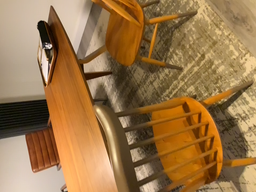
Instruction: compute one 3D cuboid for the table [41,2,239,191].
[{"bbox_3d":[-0.090,0.180,1.690,0.740,0.710,1.790,-55,52,45],"label":"table"}]
